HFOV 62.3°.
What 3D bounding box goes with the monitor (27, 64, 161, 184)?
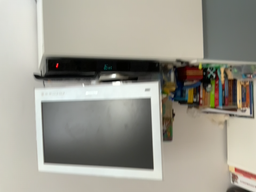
[{"bbox_3d":[-0.160,0.110,0.860,0.570,0.430,0.030,-2,-179,18],"label":"monitor"}]
